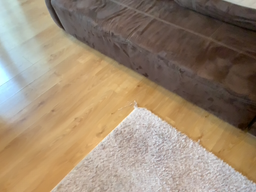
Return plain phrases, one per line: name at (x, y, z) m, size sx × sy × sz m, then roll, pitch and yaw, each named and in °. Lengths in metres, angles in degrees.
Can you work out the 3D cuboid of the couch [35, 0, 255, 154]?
couch at (0.330, -0.770, 1.810) m, size 2.310 × 0.820 × 1.130 m, roll 32°, pitch 61°, yaw 24°
